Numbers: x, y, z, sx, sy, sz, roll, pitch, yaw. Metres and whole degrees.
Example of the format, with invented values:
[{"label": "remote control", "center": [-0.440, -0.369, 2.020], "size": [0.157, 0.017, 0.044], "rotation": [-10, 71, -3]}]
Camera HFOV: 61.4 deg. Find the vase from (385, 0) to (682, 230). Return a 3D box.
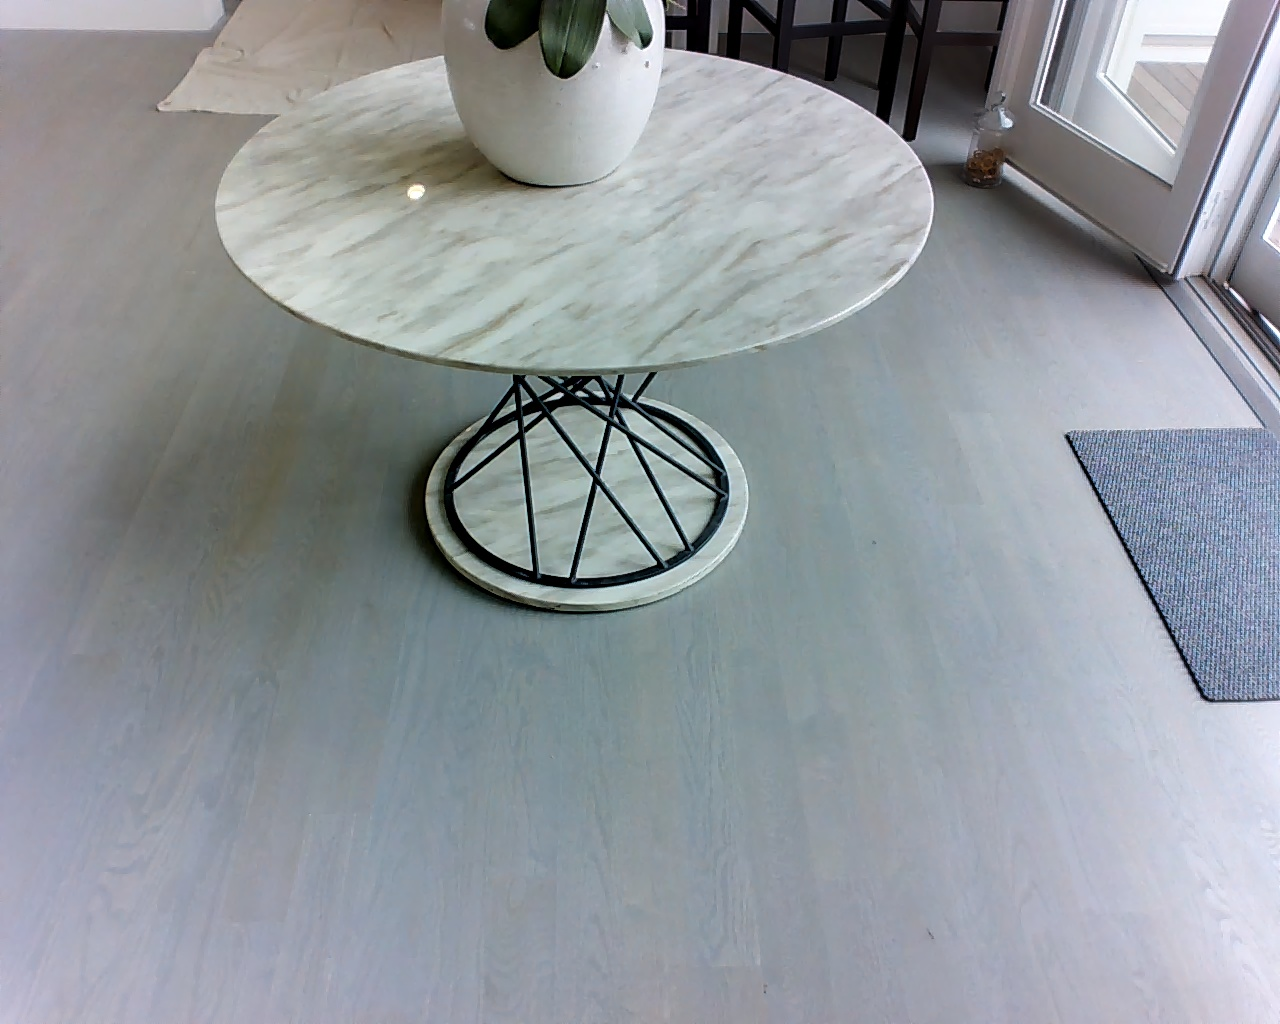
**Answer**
[{"label": "vase", "center": [-0.150, -0.780, 1.720], "size": [0.380, 0.490, 0.370], "rotation": [8, 42, 7]}]
